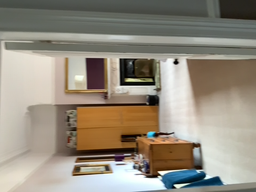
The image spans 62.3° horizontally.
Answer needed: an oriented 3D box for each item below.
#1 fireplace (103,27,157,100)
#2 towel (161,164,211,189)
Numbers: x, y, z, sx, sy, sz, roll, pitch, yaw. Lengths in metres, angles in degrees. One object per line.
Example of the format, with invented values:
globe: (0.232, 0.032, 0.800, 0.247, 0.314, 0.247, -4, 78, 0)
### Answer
fireplace: (0.010, -0.810, 5.420, 0.480, 1.250, 1.730, 140, 129, -78)
towel: (0.660, 0.920, 2.460, 0.330, 0.450, 0.160, 147, 121, -79)
